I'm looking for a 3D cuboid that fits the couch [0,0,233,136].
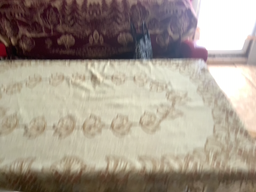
[{"bbox_3d":[-0.330,-0.400,1.960,1.850,0.920,1.160,-1,35,-3],"label":"couch"}]
